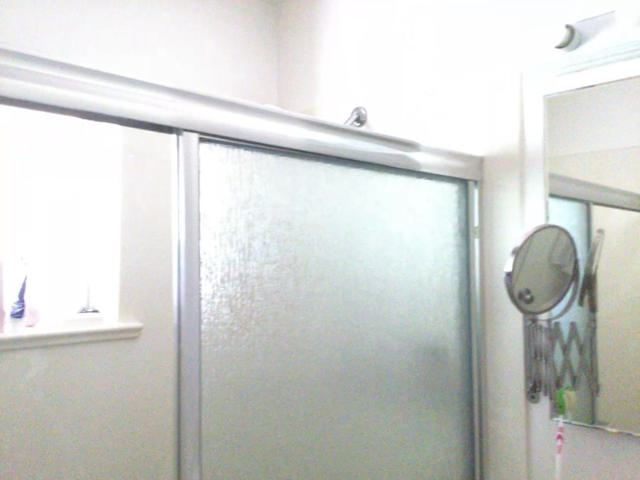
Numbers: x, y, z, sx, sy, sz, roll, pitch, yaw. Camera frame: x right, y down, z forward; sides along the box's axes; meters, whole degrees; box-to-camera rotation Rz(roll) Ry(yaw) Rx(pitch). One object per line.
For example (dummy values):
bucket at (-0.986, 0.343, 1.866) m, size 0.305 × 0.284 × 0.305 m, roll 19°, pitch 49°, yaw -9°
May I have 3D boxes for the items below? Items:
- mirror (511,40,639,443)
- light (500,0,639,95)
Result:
mirror at (0.580, 0.000, 1.020) m, size 0.060 × 0.700 × 0.480 m, roll 3°, pitch -5°, yaw -41°
light at (0.550, -0.390, 0.990) m, size 0.140 × 0.150 × 0.450 m, roll 3°, pitch -5°, yaw -41°
